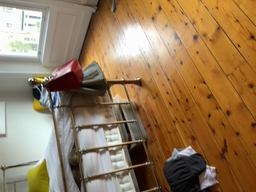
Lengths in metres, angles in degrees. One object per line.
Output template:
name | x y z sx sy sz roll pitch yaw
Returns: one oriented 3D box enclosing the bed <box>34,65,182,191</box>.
bed | -0.440 1.060 2.290 2.140 0.730 1.770 -53 48 47
